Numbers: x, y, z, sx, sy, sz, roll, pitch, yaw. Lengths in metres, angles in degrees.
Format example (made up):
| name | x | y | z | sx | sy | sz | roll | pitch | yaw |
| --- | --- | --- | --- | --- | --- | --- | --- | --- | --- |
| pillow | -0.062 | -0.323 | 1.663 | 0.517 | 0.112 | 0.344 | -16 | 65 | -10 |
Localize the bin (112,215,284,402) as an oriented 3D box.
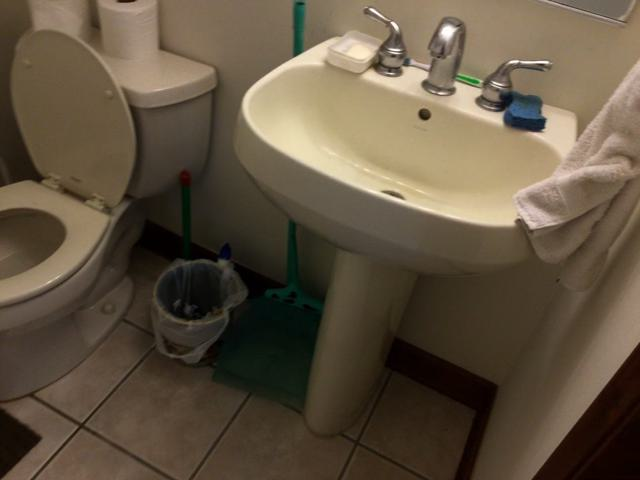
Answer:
| name | x | y | z | sx | sy | sz | roll | pitch | yaw |
| --- | --- | --- | --- | --- | --- | --- | --- | --- | --- |
| bin | -0.310 | 0.170 | 1.540 | 0.280 | 0.260 | 0.340 | 22 | 41 | 16 |
